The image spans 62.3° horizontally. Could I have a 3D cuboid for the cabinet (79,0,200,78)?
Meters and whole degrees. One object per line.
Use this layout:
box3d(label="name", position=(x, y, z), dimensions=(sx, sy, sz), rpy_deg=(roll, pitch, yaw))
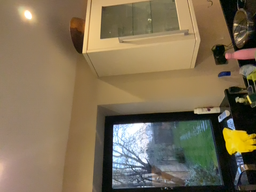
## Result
box3d(label="cabinet", position=(0.080, -0.520, 1.660), dimensions=(0.310, 0.790, 0.610), rpy_deg=(74, -167, -61))

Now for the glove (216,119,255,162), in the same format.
box3d(label="glove", position=(0.740, 0.300, 1.400), dimensions=(0.280, 0.200, 0.200), rpy_deg=(74, -167, -61))
